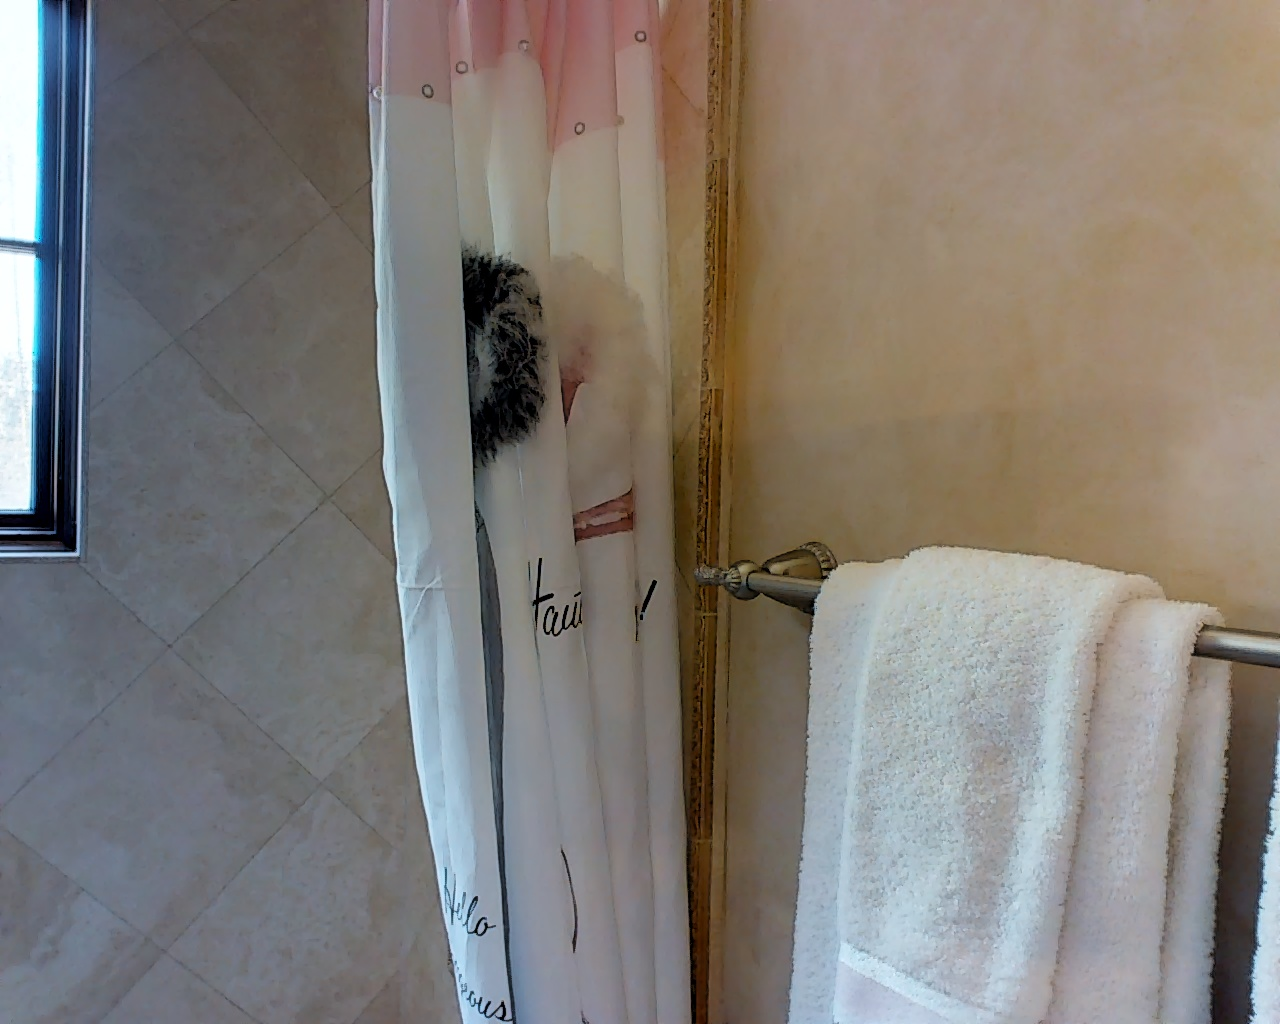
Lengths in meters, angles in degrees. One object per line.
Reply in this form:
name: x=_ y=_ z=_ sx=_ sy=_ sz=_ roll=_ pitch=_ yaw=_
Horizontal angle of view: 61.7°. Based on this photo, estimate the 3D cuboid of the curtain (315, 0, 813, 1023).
curtain: x=-0.080 y=0.340 z=0.930 sx=0.330 sy=1.970 sz=0.240 roll=2 pitch=0 yaw=-32
